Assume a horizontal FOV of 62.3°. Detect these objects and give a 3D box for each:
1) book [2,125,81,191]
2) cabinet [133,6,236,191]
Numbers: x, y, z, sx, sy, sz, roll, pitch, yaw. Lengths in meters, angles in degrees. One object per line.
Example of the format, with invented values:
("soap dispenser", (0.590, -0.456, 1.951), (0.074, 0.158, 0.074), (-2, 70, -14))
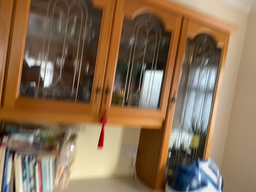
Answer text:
("book", (-0.520, 0.390, 1.270), (0.370, 0.370, 0.210), (7, 3, -30))
("cabinet", (0.450, 0.050, 1.730), (0.540, 1.310, 0.320), (7, 3, -29))
